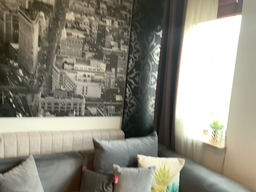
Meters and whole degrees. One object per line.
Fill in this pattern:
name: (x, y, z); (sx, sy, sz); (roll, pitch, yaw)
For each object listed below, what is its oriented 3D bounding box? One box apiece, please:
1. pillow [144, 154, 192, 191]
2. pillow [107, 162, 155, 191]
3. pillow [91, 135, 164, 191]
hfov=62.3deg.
pillow: (0.350, 0.690, 1.880); (0.380, 0.300, 0.130); (5, -8, -6)
pillow: (0.020, 0.700, 1.720); (0.330, 0.270, 0.170); (6, -2, -23)
pillow: (0.020, 0.610, 2.000); (0.660, 0.450, 0.230); (9, -8, -39)
